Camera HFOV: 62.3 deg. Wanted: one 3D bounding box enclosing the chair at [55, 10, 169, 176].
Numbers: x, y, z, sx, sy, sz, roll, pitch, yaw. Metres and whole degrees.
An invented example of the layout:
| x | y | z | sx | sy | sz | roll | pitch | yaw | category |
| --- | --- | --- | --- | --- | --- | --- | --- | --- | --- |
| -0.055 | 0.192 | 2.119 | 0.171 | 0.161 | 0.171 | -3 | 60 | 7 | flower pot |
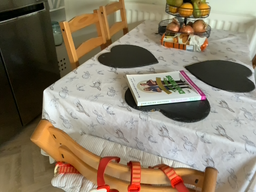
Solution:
| x | y | z | sx | sy | sz | roll | pitch | yaw | category |
| --- | --- | --- | --- | --- | --- | --- | --- | --- | --- |
| -0.080 | 0.000 | 1.290 | 0.470 | 0.880 | 0.330 | 13 | 35 | 15 | chair |
